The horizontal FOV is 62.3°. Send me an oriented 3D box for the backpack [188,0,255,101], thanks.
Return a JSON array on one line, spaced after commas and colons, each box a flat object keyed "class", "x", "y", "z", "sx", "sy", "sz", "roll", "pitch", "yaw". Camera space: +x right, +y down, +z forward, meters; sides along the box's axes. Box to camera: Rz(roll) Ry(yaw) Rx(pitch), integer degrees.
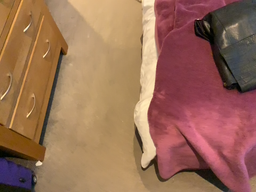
[{"class": "backpack", "x": 0.460, "y": -0.220, "z": 0.770, "sx": 0.340, "sy": 0.070, "sz": 0.410, "roll": -14, "pitch": 64, "yaw": 0}]
